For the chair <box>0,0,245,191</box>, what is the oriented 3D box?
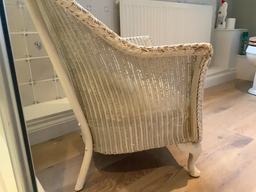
[{"bbox_3d":[-0.070,-0.100,0.860,0.630,0.760,0.650,-4,19,-11],"label":"chair"}]
